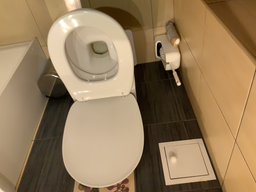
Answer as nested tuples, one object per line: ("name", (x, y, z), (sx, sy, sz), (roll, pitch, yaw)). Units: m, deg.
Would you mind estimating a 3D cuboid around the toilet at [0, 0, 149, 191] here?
("toilet", (-0.170, -0.110, 0.980), (0.390, 0.840, 0.520), (-8, 132, 4))
